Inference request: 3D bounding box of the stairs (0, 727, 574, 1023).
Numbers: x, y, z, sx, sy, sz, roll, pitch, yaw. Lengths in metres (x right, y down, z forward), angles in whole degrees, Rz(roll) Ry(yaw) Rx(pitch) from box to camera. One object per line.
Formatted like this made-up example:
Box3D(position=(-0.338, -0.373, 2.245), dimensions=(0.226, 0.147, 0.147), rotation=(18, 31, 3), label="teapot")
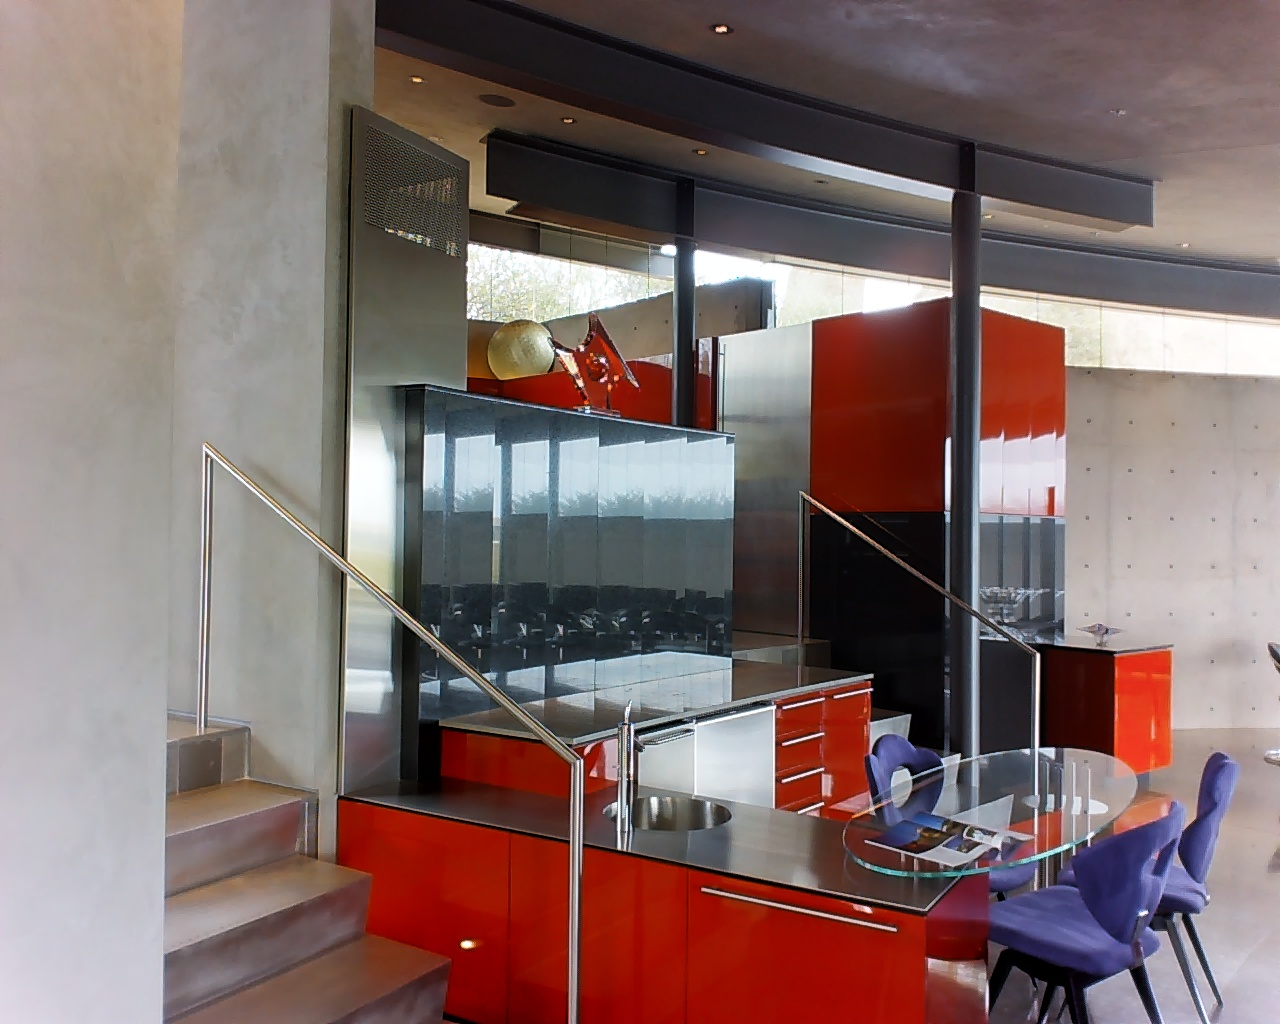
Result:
Box3D(position=(-1.080, 1.200, 2.870), dimensions=(1.330, 0.900, 1.210), rotation=(1, 0, 30), label="stairs")
